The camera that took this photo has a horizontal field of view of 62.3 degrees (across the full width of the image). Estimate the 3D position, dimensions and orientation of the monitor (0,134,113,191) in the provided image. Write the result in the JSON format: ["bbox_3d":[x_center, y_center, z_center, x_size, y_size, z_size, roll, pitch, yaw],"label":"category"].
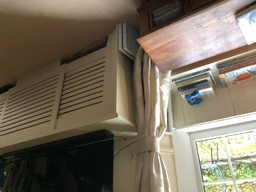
[{"bbox_3d":[-0.630,0.760,1.630,1.160,0.740,0.080,-16,147,26],"label":"monitor"}]
